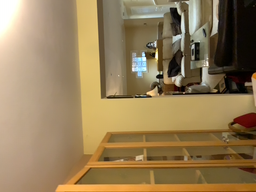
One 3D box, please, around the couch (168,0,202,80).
[{"bbox_3d":[1.590,-1.540,5.990,0.800,0.760,2.150,-60,-31,-83],"label":"couch"}]
